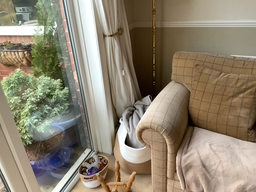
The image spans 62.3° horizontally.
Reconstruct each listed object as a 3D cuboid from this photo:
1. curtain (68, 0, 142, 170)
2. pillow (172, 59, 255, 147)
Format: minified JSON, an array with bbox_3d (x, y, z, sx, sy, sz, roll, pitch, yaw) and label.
[{"bbox_3d":[-0.160,-0.670,1.490,0.320,2.760,0.400,9,30,23],"label":"curtain"},{"bbox_3d":[0.670,0.030,1.590,0.530,0.210,0.550,9,72,26],"label":"pillow"}]
